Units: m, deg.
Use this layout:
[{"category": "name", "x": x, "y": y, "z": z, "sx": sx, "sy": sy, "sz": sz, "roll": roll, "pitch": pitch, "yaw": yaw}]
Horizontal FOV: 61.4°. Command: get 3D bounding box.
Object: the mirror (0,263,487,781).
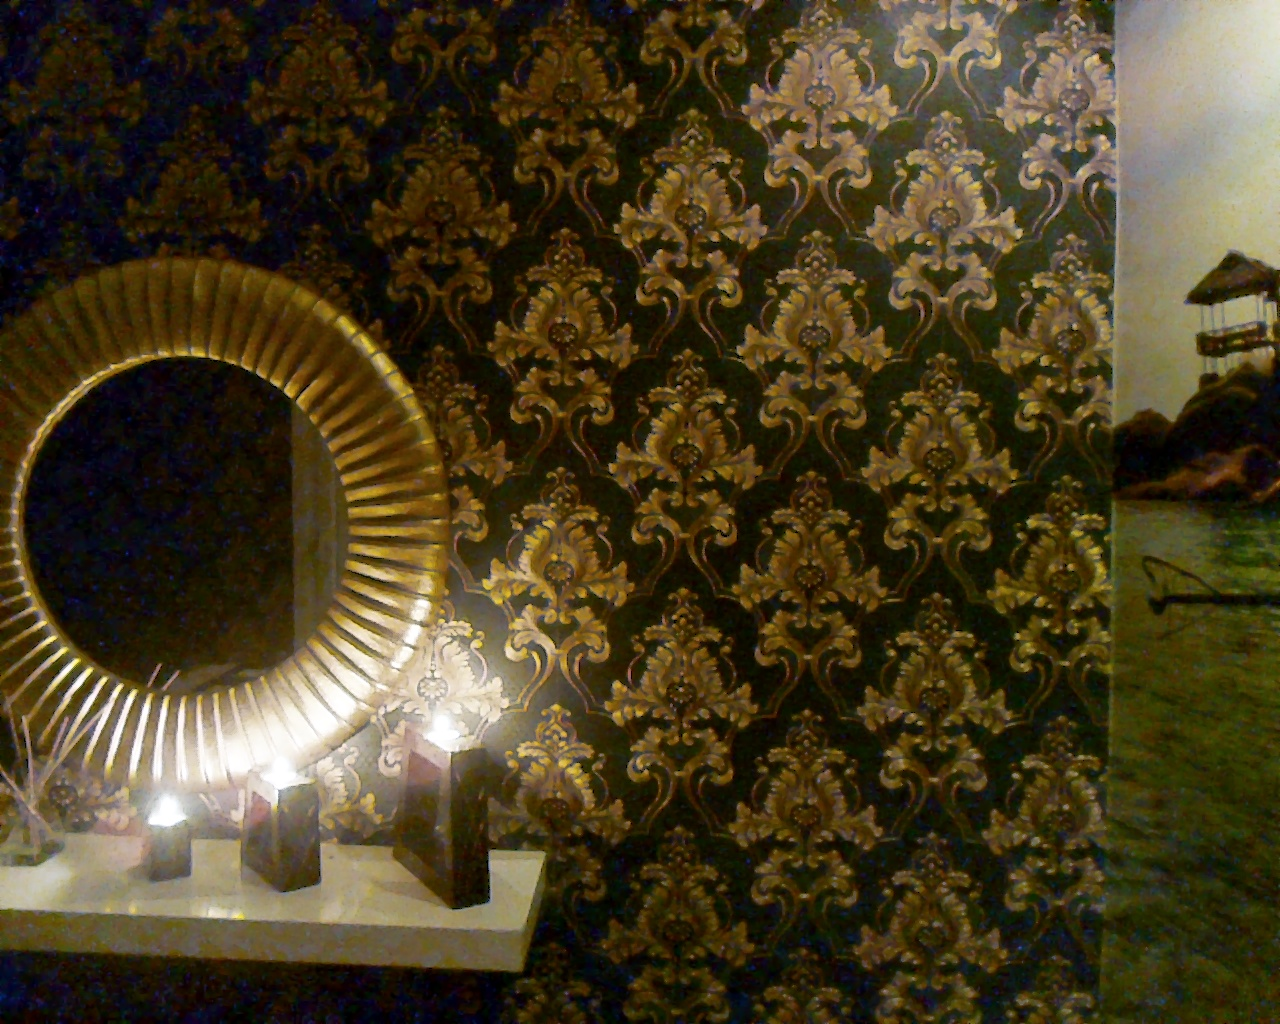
[{"category": "mirror", "x": -0.620, "y": 0.010, "z": 1.520, "sx": 0.790, "sy": 0.700, "sz": 0.090, "roll": 1, "pitch": 0, "yaw": 2}]
